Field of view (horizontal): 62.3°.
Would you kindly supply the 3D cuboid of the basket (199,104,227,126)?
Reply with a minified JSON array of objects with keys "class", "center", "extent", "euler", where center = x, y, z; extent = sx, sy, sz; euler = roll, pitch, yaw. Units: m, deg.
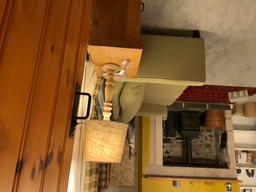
[{"class":"basket","center":[1.980,0.460,5.000],"extent":[0.380,0.400,0.550],"euler":[4,164,-6]}]

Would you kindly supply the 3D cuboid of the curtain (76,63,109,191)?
[{"class":"curtain","center":[-0.310,0.600,1.880],"extent":[0.190,1.710,0.470],"euler":[3,164,-4]}]

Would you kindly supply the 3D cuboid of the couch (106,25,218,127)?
[{"class":"couch","center":[0.280,-0.090,2.910],"extent":[1.050,0.770,1.730],"euler":[3,164,-3]}]
